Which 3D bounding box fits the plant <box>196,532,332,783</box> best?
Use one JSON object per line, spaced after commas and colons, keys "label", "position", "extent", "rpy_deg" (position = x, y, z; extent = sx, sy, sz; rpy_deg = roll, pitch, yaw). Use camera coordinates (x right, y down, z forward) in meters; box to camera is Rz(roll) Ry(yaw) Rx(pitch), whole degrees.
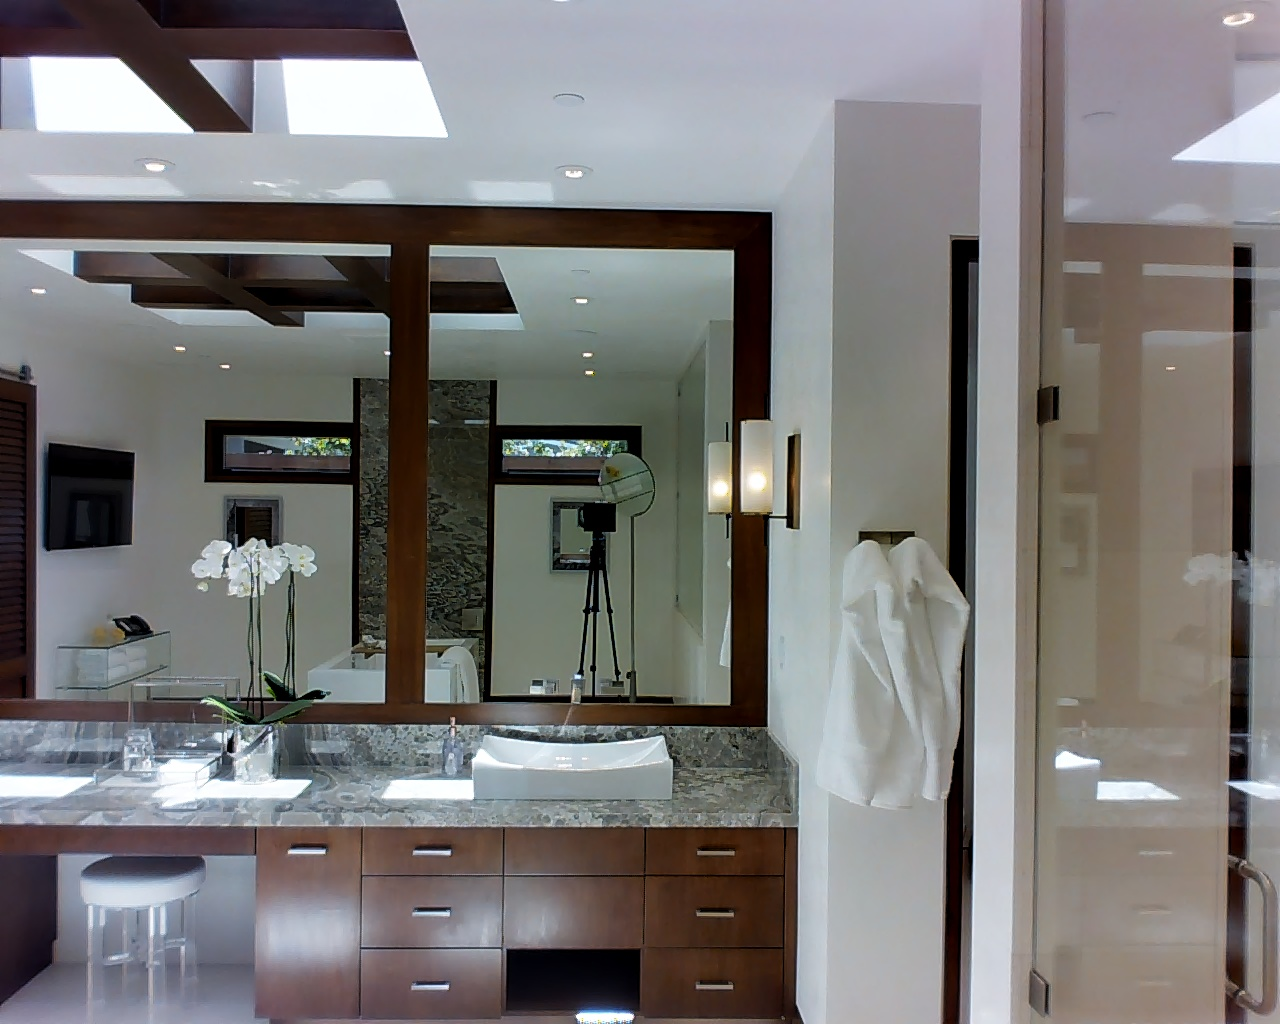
{"label": "plant", "position": [-1.320, 0.490, 3.790], "extent": [0.330, 0.830, 0.300], "rpy_deg": [1, 0, 20]}
